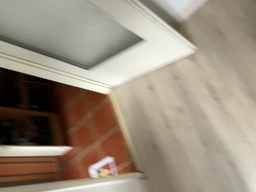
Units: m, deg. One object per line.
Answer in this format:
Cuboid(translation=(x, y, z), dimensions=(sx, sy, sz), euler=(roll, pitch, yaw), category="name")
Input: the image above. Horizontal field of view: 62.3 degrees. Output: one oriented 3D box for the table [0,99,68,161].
Cuboid(translation=(-1.100, 0.390, 2.300), dimensions=(0.400, 0.700, 0.460), euler=(-39, 57, 29), category="table")
